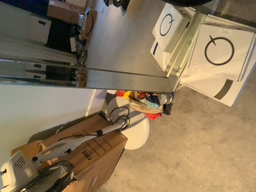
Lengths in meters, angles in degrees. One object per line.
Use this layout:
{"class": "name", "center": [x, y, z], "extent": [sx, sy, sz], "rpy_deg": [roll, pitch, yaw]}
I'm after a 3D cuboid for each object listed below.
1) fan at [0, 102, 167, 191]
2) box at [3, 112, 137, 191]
{"class": "fan", "center": [-0.270, 0.390, 1.210], "extent": [0.370, 1.100, 0.400], "rpy_deg": [36, 118, 28]}
{"class": "box", "center": [-0.450, 0.650, 1.540], "extent": [0.410, 0.680, 0.890], "rpy_deg": [39, 120, 27]}
